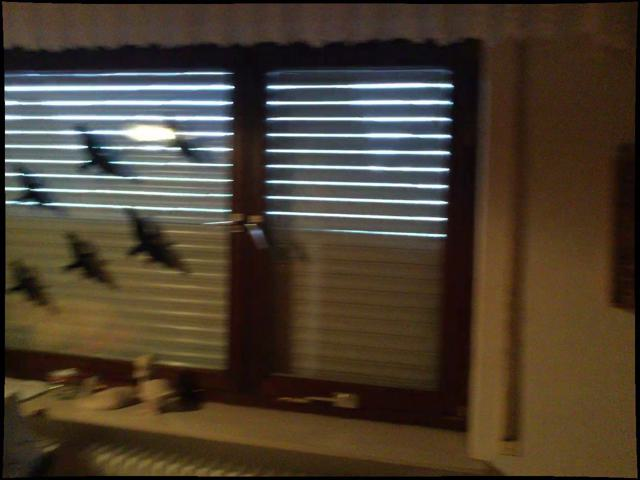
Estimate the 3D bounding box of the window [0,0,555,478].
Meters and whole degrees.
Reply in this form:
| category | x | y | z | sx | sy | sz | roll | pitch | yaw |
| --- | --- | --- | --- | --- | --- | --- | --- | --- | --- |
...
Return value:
| category | x | y | z | sx | sy | sz | roll | pitch | yaw |
| --- | --- | --- | --- | --- | --- | --- | --- | --- | --- |
| window | -0.410 | -0.060 | 1.930 | 2.118 | 1.321 | 0.410 | 2 | 4 | 11 |
